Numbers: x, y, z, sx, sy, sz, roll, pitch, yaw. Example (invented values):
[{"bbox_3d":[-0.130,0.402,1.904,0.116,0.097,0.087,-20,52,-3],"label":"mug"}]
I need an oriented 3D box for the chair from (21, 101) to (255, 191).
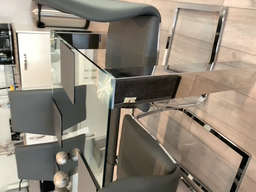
[{"bbox_3d":[0.040,0.390,1.090,0.540,0.990,0.420,42,131,50],"label":"chair"}]

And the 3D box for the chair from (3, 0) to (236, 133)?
[{"bbox_3d":[-0.050,-0.270,1.100,0.480,1.000,0.570,40,129,51],"label":"chair"}]
